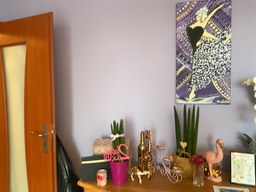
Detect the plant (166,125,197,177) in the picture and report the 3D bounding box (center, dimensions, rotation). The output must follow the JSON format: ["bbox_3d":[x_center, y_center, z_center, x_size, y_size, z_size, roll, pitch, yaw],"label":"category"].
[{"bbox_3d":[0.400,0.390,1.590,0.200,0.280,0.330,1,4,15],"label":"plant"}]

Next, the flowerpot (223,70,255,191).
[{"bbox_3d":[0.880,0.240,1.460,0.340,0.810,0.340,1,4,15],"label":"flowerpot"}]
